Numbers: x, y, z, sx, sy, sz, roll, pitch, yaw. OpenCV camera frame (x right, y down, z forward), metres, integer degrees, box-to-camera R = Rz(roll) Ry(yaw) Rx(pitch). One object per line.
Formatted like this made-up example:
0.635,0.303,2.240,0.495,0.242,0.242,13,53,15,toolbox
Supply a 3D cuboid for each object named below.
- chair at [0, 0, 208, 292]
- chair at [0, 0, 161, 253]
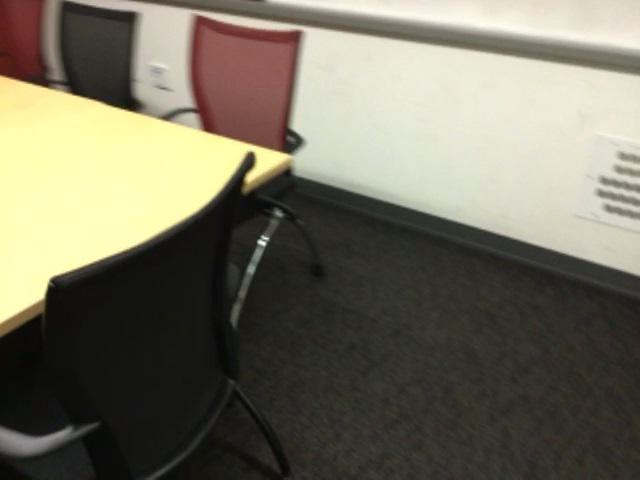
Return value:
-0.920,-0.430,2.250,0.590,0.930,0.650,20,35,29,chair
-1.280,-0.630,2.490,0.840,0.960,0.670,24,38,34,chair
